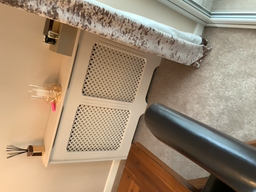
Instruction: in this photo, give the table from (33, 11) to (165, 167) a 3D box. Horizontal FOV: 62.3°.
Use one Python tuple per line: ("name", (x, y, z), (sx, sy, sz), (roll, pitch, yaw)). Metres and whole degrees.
("table", (-0.230, 0.020, 1.960), (0.170, 0.960, 1.240), (27, 104, 51))
